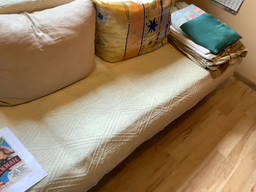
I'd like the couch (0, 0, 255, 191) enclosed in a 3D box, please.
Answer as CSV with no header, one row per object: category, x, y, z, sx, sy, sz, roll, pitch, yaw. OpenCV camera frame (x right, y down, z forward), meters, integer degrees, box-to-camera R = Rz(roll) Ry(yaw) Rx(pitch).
couch,-0.050,-0.250,1.470,2.150,0.810,1.080,-30,61,-34
